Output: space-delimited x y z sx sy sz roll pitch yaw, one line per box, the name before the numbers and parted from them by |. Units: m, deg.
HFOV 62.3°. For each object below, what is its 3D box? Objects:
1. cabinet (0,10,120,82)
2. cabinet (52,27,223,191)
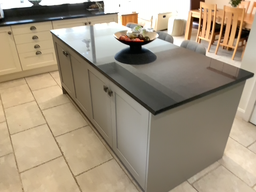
cabinet | -1.330 -0.950 3.770 2.410 0.820 0.530 -18 35 -27
cabinet | -0.150 -0.070 2.300 0.640 0.850 2.050 -18 35 -27
